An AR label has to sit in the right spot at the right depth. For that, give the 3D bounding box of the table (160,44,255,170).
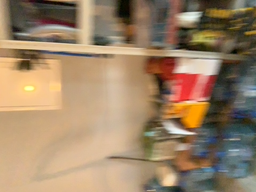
[{"bbox_3d":[0.700,0.100,1.770,0.330,0.590,0.960,-125,38,-56],"label":"table"}]
